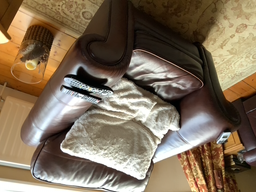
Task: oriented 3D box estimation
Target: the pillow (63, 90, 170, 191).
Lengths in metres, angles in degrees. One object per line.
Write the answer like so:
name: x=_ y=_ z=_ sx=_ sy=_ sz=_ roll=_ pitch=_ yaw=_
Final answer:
pillow: x=-0.040 y=0.280 z=1.360 sx=0.150 sy=0.460 sz=0.590 roll=-43 pitch=84 yaw=28
